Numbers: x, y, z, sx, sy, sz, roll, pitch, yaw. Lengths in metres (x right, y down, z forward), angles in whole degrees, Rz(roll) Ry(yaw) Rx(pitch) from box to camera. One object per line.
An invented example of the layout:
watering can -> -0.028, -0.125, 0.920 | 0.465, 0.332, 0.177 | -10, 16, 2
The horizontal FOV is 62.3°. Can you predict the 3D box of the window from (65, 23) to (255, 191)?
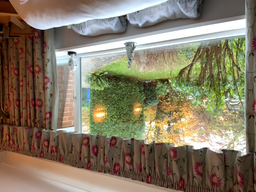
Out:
window -> 0.110, 0.100, 2.070 | 1.940, 1.260, 0.070 | 0, -179, 30
